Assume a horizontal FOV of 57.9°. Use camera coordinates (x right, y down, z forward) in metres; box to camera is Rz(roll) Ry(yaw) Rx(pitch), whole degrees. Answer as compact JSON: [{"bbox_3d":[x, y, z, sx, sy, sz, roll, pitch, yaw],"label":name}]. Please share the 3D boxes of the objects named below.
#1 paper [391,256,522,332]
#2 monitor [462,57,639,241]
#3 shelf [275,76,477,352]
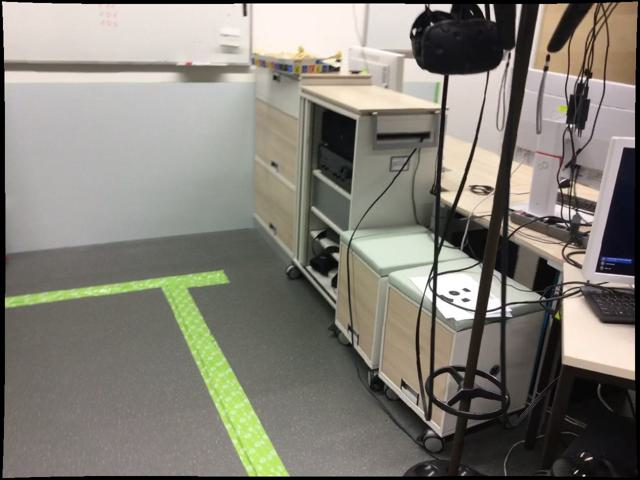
[{"bbox_3d":[0.450,0.170,1.960,0.270,0.060,0.360,-9,25,-22],"label":"paper"},{"bbox_3d":[0.899,-0.380,2.190,0.250,0.530,0.680,-13,26,-29],"label":"monitor"},{"bbox_3d":[0.210,-0.190,2.870,0.600,1.091,0.830,-9,25,-22],"label":"shelf"}]
